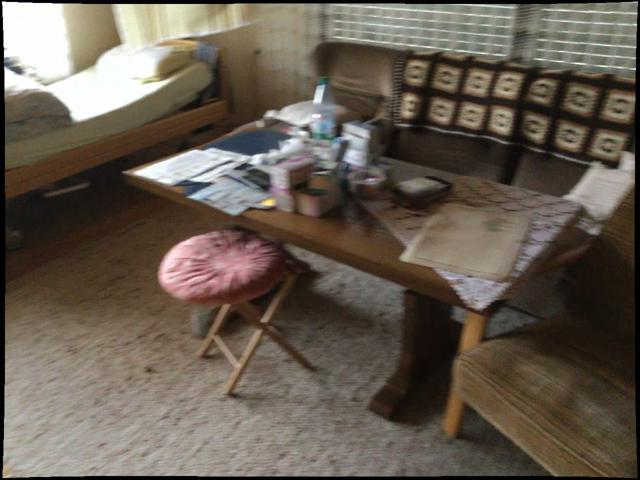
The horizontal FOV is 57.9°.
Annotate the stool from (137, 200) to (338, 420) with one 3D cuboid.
[{"bbox_3d":[-0.270,0.220,2.100,0.440,0.480,0.530,19,35,31],"label":"stool"}]
